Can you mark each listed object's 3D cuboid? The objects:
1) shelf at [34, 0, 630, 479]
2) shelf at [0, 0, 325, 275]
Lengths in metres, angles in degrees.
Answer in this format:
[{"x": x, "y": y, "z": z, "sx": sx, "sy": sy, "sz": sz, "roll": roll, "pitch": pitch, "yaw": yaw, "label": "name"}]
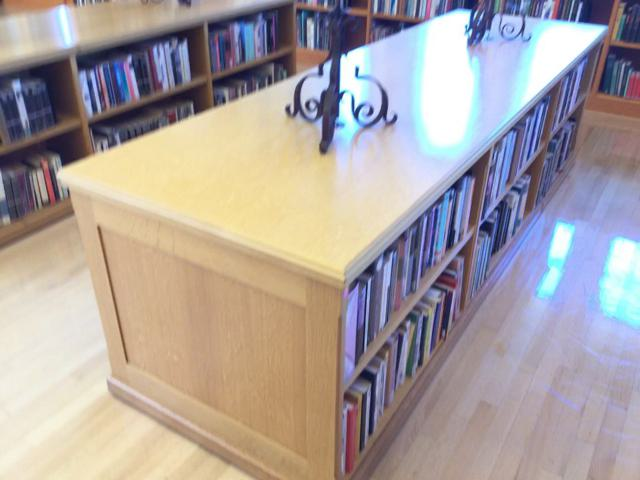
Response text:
[{"x": 0.440, "y": -0.360, "z": 2.340, "sx": 0.860, "sy": 0.870, "sz": 2.710, "roll": 18, "pitch": 37, "yaw": 29, "label": "shelf"}, {"x": -0.820, "y": -0.800, "z": 3.120, "sx": 0.400, "sy": 0.820, "sz": 2.470, "roll": 19, "pitch": 37, "yaw": 29, "label": "shelf"}]
